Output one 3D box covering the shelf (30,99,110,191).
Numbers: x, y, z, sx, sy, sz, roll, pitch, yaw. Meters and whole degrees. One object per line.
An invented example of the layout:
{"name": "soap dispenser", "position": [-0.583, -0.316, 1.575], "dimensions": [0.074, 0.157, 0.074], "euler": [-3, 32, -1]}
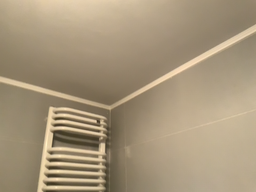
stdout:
{"name": "shelf", "position": [-0.300, 0.710, 1.090], "dimensions": [0.420, 1.360, 0.120], "euler": [21, -33, -39]}
